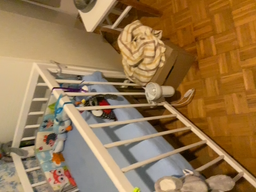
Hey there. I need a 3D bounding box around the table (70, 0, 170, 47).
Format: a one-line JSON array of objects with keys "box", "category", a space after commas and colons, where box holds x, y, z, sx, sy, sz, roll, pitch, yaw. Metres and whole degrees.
[{"box": [-0.050, -0.590, 1.390, 0.330, 0.470, 0.330, -44, 62, 36], "category": "table"}]
